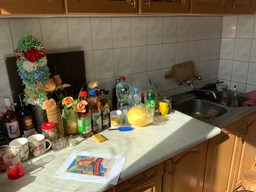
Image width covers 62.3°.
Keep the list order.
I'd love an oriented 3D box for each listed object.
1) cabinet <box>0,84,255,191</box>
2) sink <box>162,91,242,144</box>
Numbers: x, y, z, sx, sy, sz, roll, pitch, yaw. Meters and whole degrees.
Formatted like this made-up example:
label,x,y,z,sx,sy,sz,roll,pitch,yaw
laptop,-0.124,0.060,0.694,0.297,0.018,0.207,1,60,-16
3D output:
label,x,y,z,sx,sy,sz,roll,pitch,yaw
cabinet,0.090,0.590,1.530,2.430,0.860,0.520,-13,22,-31
sink,0.590,0.150,1.760,0.360,0.200,0.490,-13,22,-31
